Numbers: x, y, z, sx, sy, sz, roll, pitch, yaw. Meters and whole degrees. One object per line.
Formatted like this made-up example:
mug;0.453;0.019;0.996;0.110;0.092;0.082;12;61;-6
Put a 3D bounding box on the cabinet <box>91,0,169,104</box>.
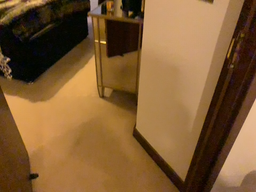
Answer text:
cabinet;0.050;-0.520;2.050;0.470;0.790;0.790;13;39;12
